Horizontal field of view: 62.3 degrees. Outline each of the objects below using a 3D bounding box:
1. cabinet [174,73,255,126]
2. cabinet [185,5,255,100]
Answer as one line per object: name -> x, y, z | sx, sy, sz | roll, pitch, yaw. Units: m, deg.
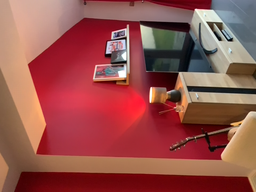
cabinet -> 0.990, 0.040, 2.290 | 0.400, 0.860, 0.360 | -91, 5, -48
cabinet -> 1.240, -0.730, 3.050 | 1.740, 0.340, 0.500 | -91, 5, -48
